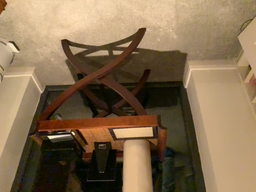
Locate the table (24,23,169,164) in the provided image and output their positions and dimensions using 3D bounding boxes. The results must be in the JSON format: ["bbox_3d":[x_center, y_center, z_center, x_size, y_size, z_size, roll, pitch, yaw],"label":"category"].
[{"bbox_3d":[-0.120,0.000,1.370,0.660,0.690,0.550,-3,144,5],"label":"table"}]
